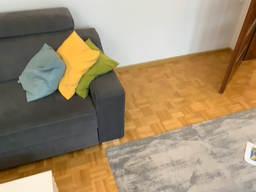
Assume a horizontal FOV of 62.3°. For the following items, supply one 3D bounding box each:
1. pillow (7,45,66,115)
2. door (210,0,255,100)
[{"bbox_3d":[-0.690,-0.130,1.570,0.390,0.130,0.370,37,96,40],"label":"pillow"},{"bbox_3d":[1.200,-1.030,1.980,0.060,2.130,0.910,22,44,22],"label":"door"}]
